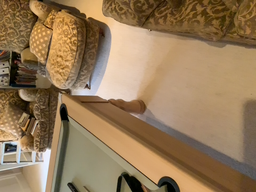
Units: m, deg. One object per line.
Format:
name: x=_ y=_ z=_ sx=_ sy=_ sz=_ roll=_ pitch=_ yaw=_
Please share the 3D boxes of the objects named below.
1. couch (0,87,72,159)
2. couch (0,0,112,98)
couch: x=-1.460 y=0.300 z=3.080 sx=1.080 sy=0.820 sz=0.820 roll=3 pitch=91 yaw=46
couch: x=-1.110 y=-0.730 z=2.720 sx=1.630 sy=0.830 sz=0.860 roll=36 pitch=115 yaw=41
